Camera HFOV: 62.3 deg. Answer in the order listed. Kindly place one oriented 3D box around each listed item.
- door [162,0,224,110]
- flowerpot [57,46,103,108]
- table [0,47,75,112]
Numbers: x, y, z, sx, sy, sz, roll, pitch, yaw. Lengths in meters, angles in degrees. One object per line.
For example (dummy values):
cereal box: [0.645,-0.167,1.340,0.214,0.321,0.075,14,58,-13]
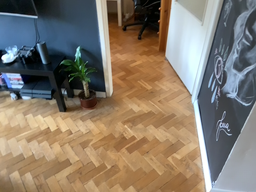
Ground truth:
door: [0.570,-1.020,1.840,0.110,2.220,0.980,-4,40,-5]
flowerpot: [-0.410,-0.160,1.920,0.290,0.530,0.160,7,41,9]
table: [-1.040,-0.170,1.980,0.960,0.460,0.290,6,41,8]
